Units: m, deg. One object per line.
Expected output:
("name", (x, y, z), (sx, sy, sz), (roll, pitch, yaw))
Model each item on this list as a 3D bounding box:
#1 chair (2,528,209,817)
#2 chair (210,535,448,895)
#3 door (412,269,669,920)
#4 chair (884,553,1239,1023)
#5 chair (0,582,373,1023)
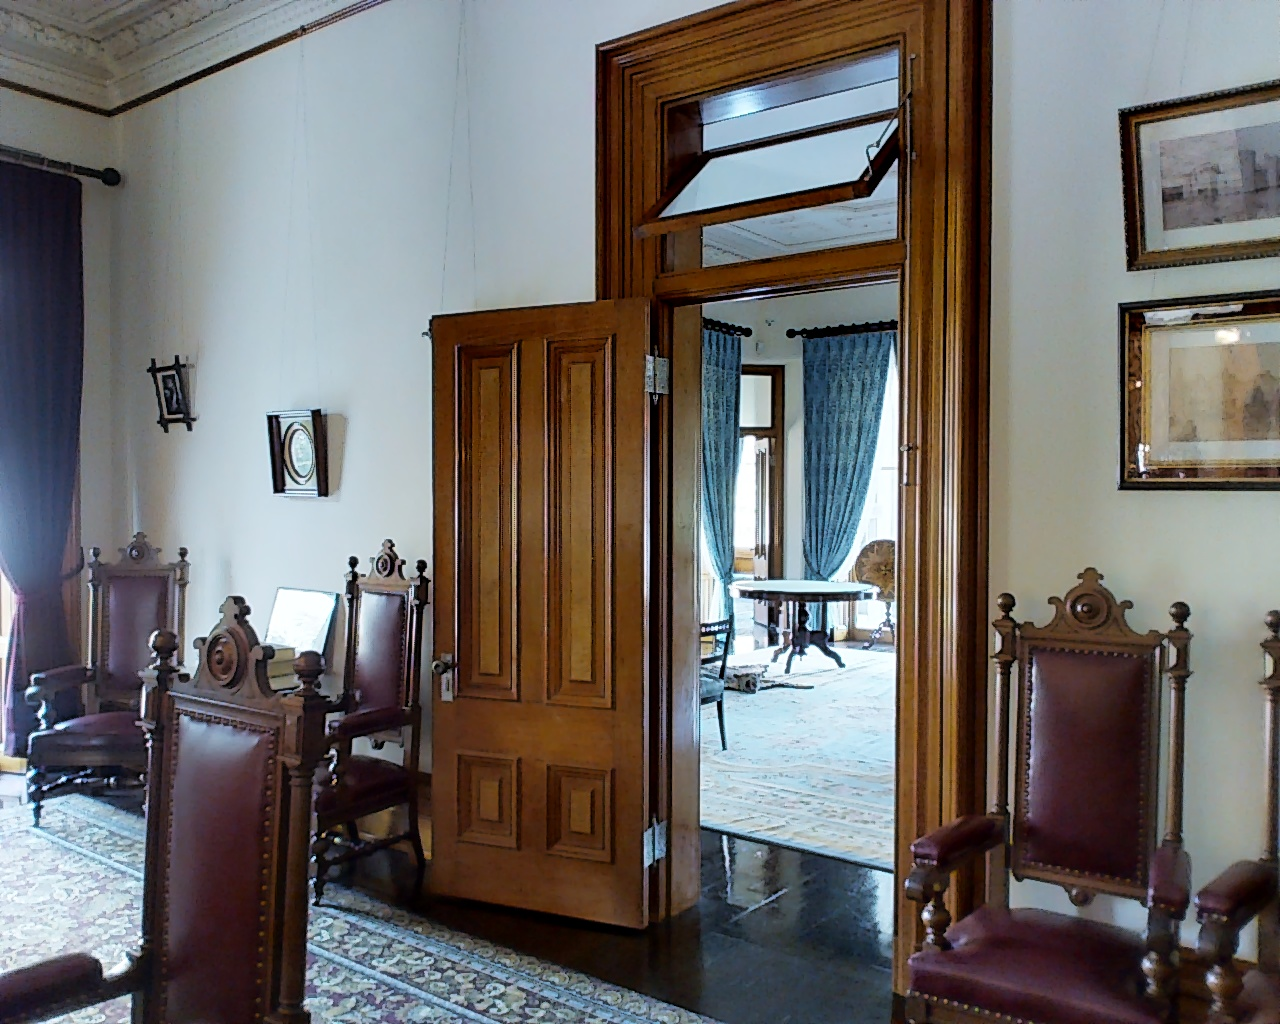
("chair", (-2.620, 0.750, 5.350), (0.700, 1.310, 0.720), (0, 1, -5))
("chair", (-1.290, 0.770, 4.490), (0.660, 1.310, 0.690), (1, 1, 36))
("door", (-0.390, 0.290, 4.070), (0.970, 2.300, 0.200), (1, 1, 22))
("chair", (1.100, 0.820, 2.770), (0.670, 1.370, 0.740), (1, 1, 36))
("chair", (-0.950, 0.810, 1.750), (0.720, 1.310, 0.700), (1, 1, 36))
